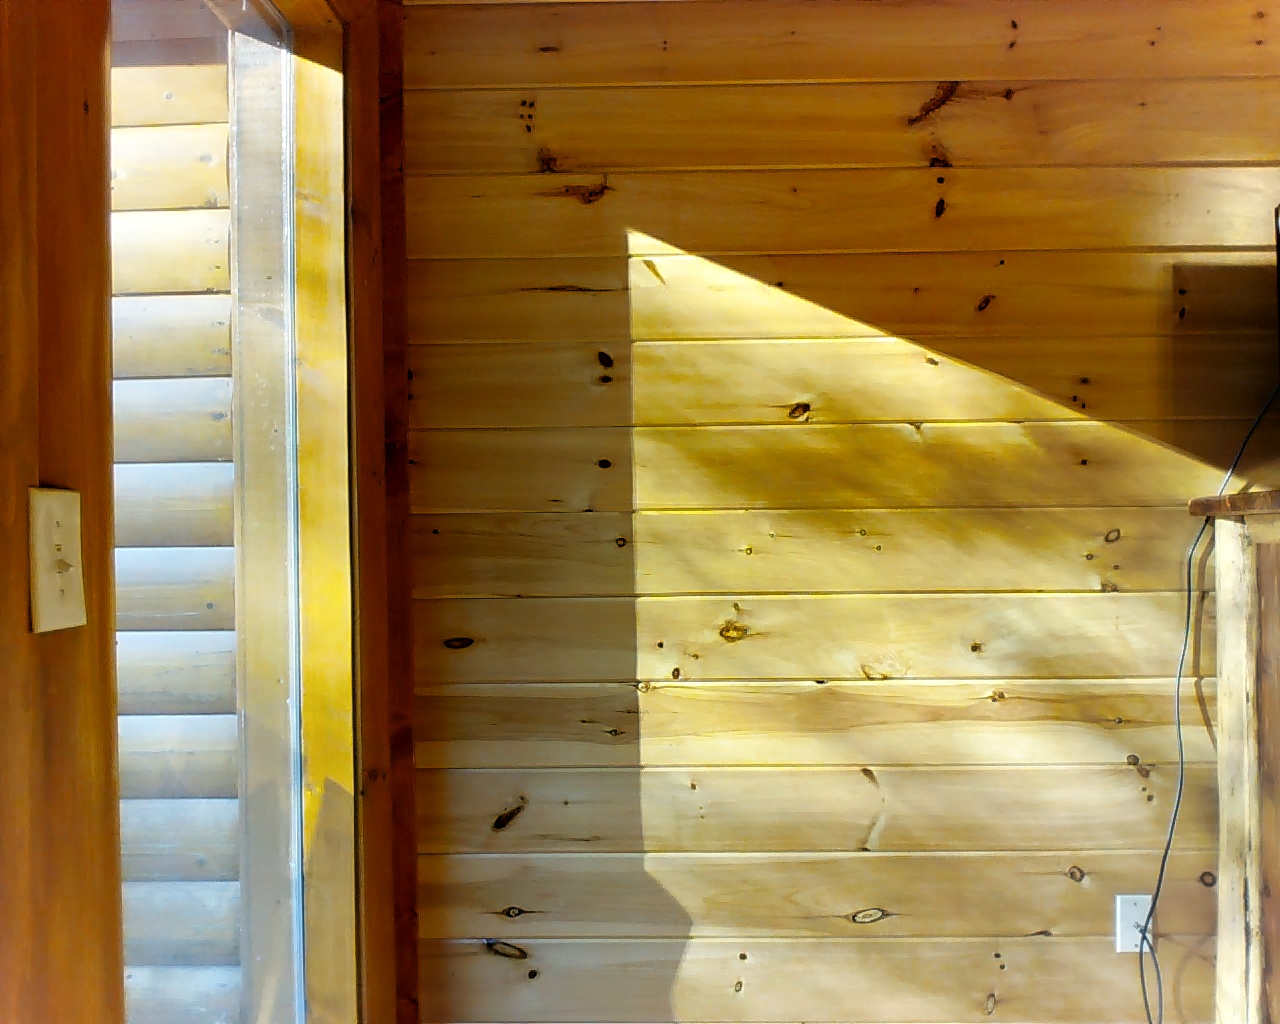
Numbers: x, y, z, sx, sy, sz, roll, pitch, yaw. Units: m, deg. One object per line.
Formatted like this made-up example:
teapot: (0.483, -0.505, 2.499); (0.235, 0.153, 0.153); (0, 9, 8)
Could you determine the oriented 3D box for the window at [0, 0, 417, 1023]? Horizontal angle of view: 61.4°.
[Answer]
window: (-0.530, 0.030, 0.320); (0.060, 2.341, 3.750); (-1, -2, 1)
